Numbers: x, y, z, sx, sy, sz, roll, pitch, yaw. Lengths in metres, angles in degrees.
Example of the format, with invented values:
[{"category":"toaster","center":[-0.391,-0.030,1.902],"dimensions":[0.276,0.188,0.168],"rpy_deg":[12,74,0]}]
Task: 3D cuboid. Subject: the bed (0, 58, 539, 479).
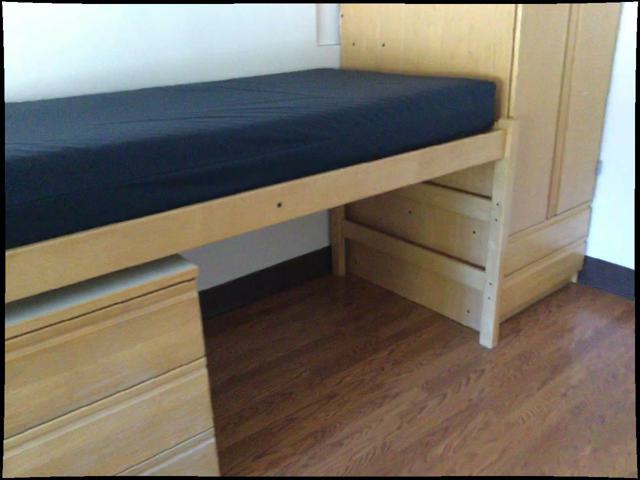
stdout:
[{"category":"bed","center":[-0.400,0.050,1.950],"dimensions":[2.149,1.051,1.100],"rpy_deg":[-20,28,-36]}]
